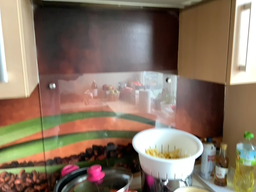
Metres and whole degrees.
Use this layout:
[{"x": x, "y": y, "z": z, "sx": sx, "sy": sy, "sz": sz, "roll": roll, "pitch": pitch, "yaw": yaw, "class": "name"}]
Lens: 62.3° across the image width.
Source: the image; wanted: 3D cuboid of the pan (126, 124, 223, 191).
[{"x": 0.160, "y": 0.310, "z": 0.850, "sx": 0.260, "sy": 0.290, "sz": 0.290, "roll": -4, "pitch": 11, "yaw": -17, "class": "pan"}]

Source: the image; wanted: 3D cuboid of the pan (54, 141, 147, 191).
[{"x": -0.120, "y": 0.330, "z": 0.790, "sx": 0.280, "sy": 0.180, "sz": 0.300, "roll": -4, "pitch": 12, "yaw": -18, "class": "pan"}]
